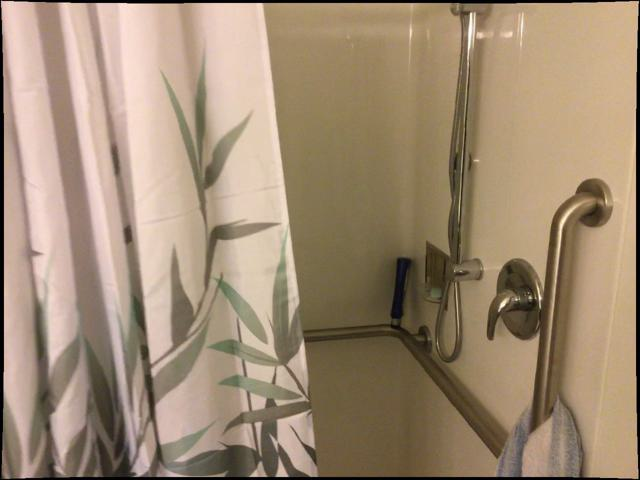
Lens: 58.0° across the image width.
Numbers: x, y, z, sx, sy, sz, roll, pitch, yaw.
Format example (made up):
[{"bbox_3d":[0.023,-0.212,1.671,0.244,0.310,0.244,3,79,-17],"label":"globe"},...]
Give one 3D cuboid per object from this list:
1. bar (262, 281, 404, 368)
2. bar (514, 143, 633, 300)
[{"bbox_3d":[0.040,0.251,1.750,0.399,0.160,0.130,-8,16,-12],"label":"bar"},{"bbox_3d":[0.419,-0.040,0.980,0.080,0.220,0.190,-8,16,-12],"label":"bar"}]
